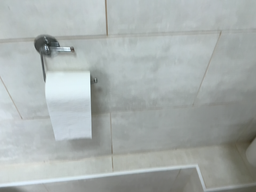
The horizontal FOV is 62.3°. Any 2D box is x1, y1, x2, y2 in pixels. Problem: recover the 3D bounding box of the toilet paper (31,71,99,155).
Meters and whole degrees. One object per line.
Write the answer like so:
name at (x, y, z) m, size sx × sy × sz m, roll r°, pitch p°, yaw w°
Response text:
toilet paper at (-0.160, 0.060, 0.610) m, size 0.140 × 0.260 × 0.090 m, roll -2°, pitch 47°, yaw -6°
